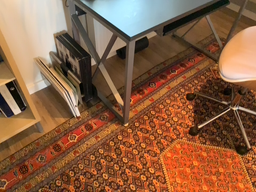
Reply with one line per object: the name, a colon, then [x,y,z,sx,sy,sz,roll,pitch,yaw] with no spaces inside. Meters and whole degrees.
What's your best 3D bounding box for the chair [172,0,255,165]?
chair: [0.760,-0.120,1.350,0.620,0.840,0.620,22,52,13]
